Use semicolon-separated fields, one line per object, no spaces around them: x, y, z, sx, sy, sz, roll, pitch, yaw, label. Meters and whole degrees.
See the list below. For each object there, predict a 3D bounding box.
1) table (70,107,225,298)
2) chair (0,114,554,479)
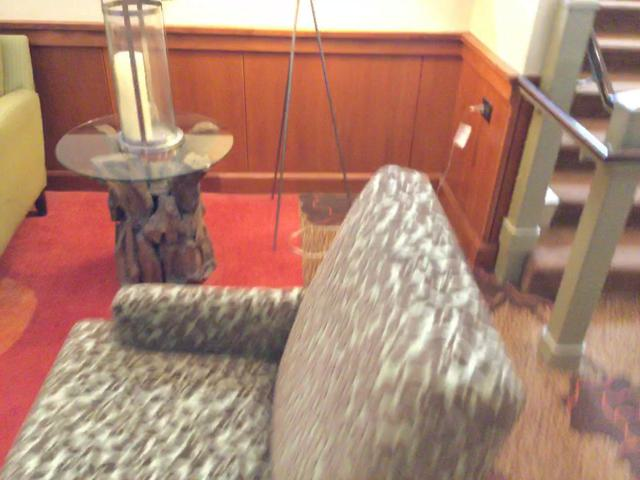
-0.650;-0.150;2.320;0.490;0.590;0.450;3;33;-8;table
-0.220;0.370;1.280;0.910;0.960;0.800;5;33;-4;chair
